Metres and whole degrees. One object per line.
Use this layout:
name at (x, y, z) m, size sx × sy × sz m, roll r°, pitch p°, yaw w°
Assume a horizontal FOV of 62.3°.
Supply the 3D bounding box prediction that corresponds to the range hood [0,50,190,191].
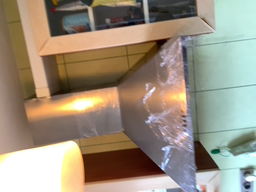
range hood at (-0.160, 0.090, 1.130) m, size 0.500 × 0.810 × 0.550 m, roll -90°, pitch -7°, yaw -76°
